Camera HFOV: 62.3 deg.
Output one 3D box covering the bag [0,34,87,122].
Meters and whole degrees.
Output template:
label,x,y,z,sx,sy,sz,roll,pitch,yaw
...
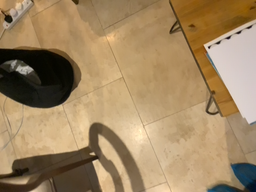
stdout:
label,x,y,z,sx,sy,sz,roll,pitch,yaw
bag,-0.540,-0.090,1.120,0.470,0.370,0.340,12,88,12
